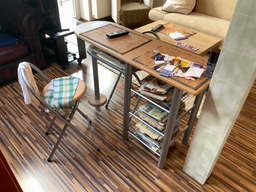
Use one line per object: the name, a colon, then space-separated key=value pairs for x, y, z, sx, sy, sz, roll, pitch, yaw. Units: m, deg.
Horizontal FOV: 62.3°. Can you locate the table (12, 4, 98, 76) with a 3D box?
table: x=-0.970 y=-0.800 z=2.840 sx=1.070 sy=0.520 sz=0.540 roll=32 pitch=47 yaw=32

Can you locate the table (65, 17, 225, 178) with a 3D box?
table: x=0.030 y=-0.060 z=1.760 sx=0.410 sy=0.790 sz=1.170 roll=-30 pitch=49 yaw=-34

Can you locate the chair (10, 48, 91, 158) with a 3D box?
chair: x=-0.510 y=0.070 z=1.580 sx=0.400 sy=0.750 sz=0.330 roll=-5 pitch=39 yaw=-10
